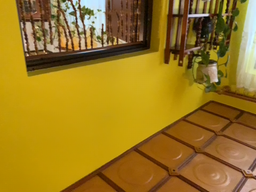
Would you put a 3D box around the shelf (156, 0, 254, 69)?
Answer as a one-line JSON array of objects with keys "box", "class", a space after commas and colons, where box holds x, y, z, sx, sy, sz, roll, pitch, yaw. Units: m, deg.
[{"box": [0.660, -0.620, 1.700, 0.310, 0.600, 0.930, 22, -150, 40], "class": "shelf"}]
